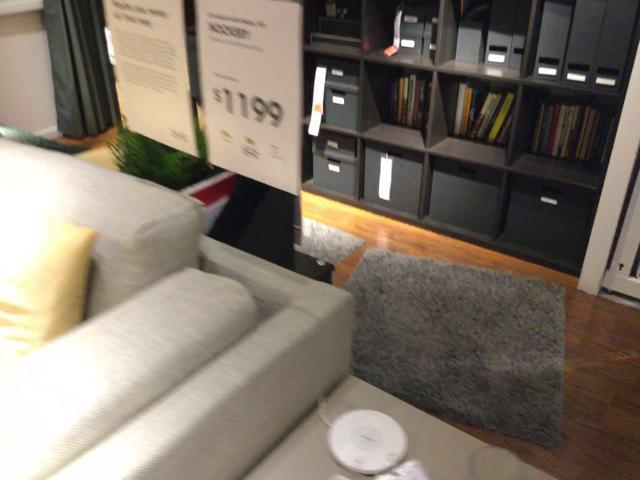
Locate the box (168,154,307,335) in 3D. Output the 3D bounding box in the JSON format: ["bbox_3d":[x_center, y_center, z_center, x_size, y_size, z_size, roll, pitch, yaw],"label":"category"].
[{"bbox_3d":[-0.190,0.000,1.430,0.180,0.330,0.280,19,32,30],"label":"box"}]
